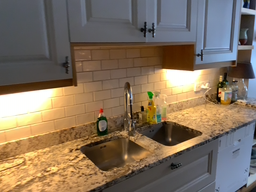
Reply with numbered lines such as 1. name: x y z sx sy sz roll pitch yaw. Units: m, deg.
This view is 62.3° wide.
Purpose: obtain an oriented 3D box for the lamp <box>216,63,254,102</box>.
1. lamp: 1.250 -0.170 2.490 0.290 0.400 0.260 -11 16 -35

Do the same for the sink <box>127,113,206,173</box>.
1. sink: 0.300 0.340 1.700 0.450 0.230 0.410 -10 16 -34

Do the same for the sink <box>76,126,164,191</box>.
1. sink: -0.060 0.420 1.450 0.430 0.230 0.420 -10 16 -34
